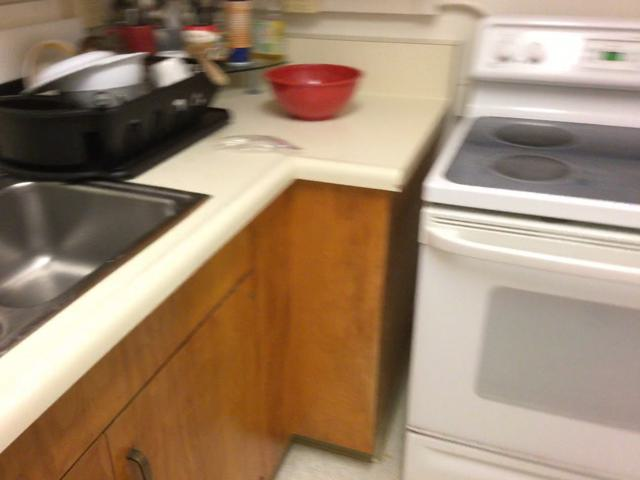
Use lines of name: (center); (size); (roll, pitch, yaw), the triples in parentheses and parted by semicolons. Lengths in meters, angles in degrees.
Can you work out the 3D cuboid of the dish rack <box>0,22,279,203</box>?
dish rack: (-0.420, -0.330, 1.300); (0.450, 0.220, 0.620); (9, 28, 16)
